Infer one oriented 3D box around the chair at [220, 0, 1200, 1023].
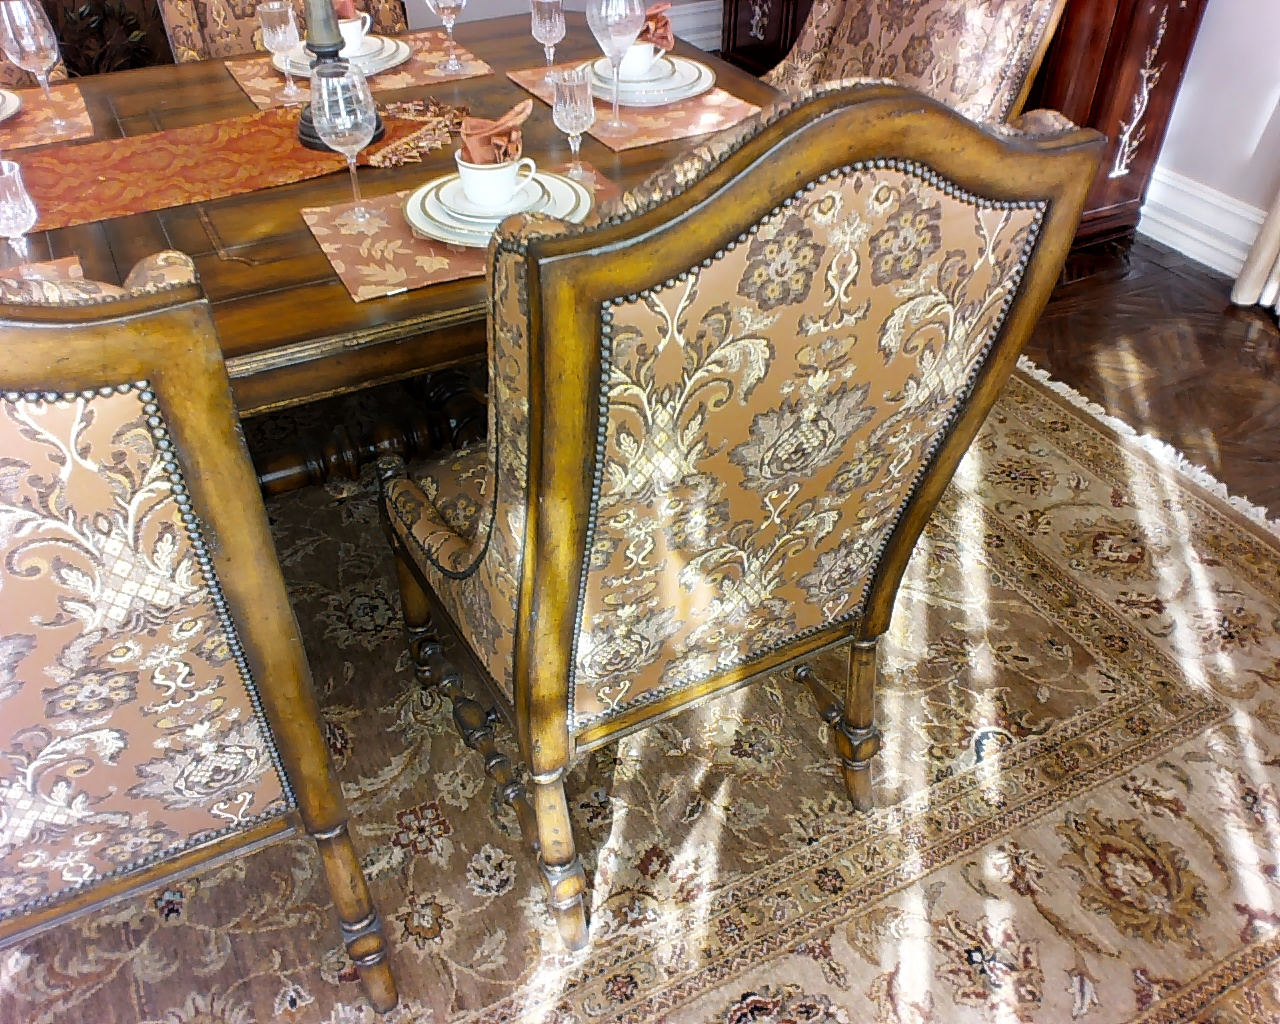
[{"bbox_3d":[0.000,-0.080,1.430,0.690,1.170,0.770,-19,43,-22],"label":"chair"}]
